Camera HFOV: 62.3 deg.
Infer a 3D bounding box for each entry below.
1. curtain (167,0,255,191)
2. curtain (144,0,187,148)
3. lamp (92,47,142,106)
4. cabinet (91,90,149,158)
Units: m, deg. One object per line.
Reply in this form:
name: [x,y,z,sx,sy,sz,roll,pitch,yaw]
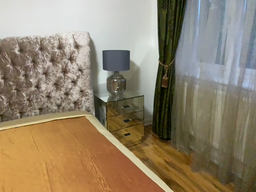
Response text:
curtain: [0.930,-0.160,1.870,0.150,2.060,1.470,-11,19,-30]
curtain: [0.430,-0.460,2.610,0.180,2.150,0.530,-11,19,-29]
lamp: [-0.130,-0.260,2.550,0.450,0.600,0.390,-10,19,-27]
cabinet: [-0.110,0.310,2.700,0.510,0.590,0.590,-10,19,-26]
